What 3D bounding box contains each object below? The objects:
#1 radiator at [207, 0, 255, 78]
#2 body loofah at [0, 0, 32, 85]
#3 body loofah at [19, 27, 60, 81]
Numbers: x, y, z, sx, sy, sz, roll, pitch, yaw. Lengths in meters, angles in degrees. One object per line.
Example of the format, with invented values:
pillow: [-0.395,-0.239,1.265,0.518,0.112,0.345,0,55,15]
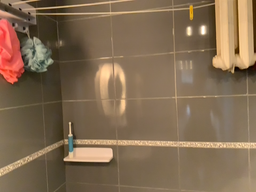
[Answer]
radiator: [0.560,-0.420,0.990,0.340,0.650,0.190,-1,2,17]
body loofah: [-0.510,-0.230,0.920,0.060,0.360,0.160,-1,2,20]
body loofah: [-0.440,-0.200,1.060,0.130,0.240,0.120,-1,2,23]
